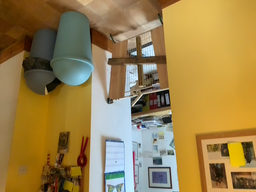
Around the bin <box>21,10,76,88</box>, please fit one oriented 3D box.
[{"bbox_3d":[-0.790,-0.450,2.150,0.350,0.620,0.340,-14,160,33],"label":"bin"}]

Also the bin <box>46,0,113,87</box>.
[{"bbox_3d":[-0.420,-0.500,1.930,0.390,0.690,0.410,-12,160,30],"label":"bin"}]
